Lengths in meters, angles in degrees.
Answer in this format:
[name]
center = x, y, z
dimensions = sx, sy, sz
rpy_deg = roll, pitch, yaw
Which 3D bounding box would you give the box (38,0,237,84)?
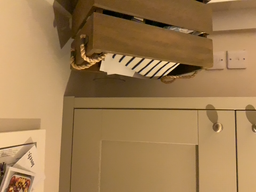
[box]
center = 0.050, -0.250, 0.830
dimensions = 0.570, 0.330, 0.450
rpy_deg = 0, 175, 13
